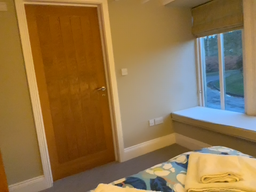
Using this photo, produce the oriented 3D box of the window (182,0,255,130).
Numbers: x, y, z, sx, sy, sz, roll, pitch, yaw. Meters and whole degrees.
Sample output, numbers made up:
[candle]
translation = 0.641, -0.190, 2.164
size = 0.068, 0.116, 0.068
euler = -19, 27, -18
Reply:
[window]
translation = 1.460, -0.480, 2.640
size = 0.230, 1.720, 1.940
euler = -9, 9, -26
